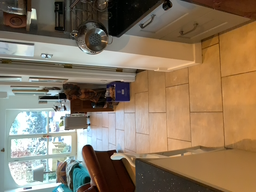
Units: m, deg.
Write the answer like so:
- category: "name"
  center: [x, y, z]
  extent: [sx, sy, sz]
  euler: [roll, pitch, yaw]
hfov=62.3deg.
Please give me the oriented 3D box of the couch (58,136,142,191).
- category: "couch"
  center: [-0.550, 1.510, 3.470]
  extent: [1.080, 0.940, 1.200]
  euler: [45, 128, 55]

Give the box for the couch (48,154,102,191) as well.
- category: "couch"
  center: [-1.410, 2.220, 5.260]
  extent: [1.990, 0.880, 1.060]
  euler: [-5, 85, 63]
